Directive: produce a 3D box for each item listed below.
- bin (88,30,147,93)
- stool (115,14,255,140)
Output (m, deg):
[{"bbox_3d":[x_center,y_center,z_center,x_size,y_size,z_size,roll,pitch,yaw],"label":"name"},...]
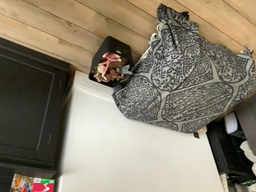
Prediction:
[{"bbox_3d":[-0.100,-0.270,1.790,0.320,0.230,0.410,19,137,-27],"label":"bin"},{"bbox_3d":[0.550,-0.060,1.980,1.020,0.440,0.880,19,137,-27],"label":"stool"}]
